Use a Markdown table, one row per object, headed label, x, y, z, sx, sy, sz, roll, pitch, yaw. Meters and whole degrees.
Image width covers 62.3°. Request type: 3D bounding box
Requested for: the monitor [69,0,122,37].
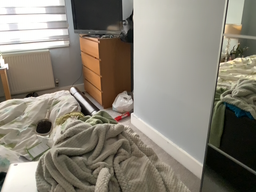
| label | x | y | z | sx | sy | sz | roll | pitch | yaw |
| --- | --- | --- | --- | --- | --- | --- | --- | --- | --- |
| monitor | -0.450 | -1.080 | 2.870 | 0.790 | 0.520 | 0.050 | 9 | 23 | 24 |
